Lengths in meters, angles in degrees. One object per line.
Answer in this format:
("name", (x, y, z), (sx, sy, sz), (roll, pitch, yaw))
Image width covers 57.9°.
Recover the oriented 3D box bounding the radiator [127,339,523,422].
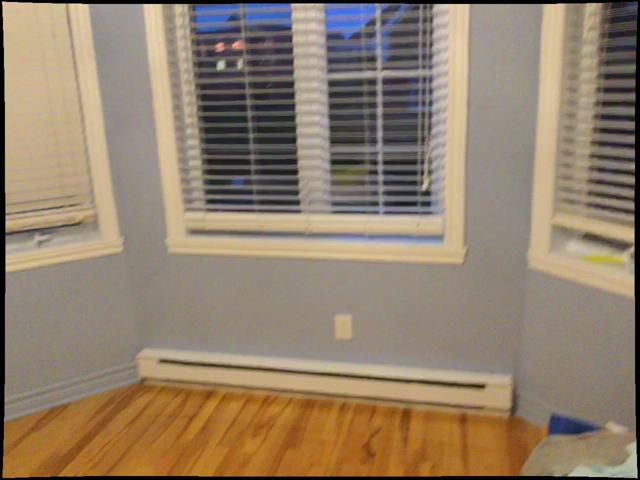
("radiator", (-0.040, 0.591, 2.510), (1.728, 0.180, 0.110), (1, 17, 16))
